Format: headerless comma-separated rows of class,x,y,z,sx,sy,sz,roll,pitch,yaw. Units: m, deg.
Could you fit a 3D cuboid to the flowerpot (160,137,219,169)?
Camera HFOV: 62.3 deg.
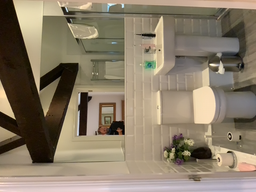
flowerpot,0.620,0.580,2.200,0.260,0.510,0.270,121,149,-81

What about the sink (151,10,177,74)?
sink,0.370,-0.550,2.260,0.440,0.160,0.540,125,145,-82
